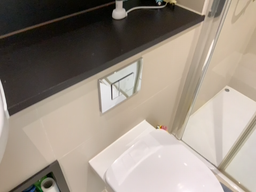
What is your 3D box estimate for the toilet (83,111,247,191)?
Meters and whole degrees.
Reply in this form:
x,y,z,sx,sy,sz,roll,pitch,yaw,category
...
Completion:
x,y,z,sx,sy,sz,roll,pitch,yaw,category
0.120,0.460,0.990,0.370,0.450,0.530,-32,55,-31,toilet
